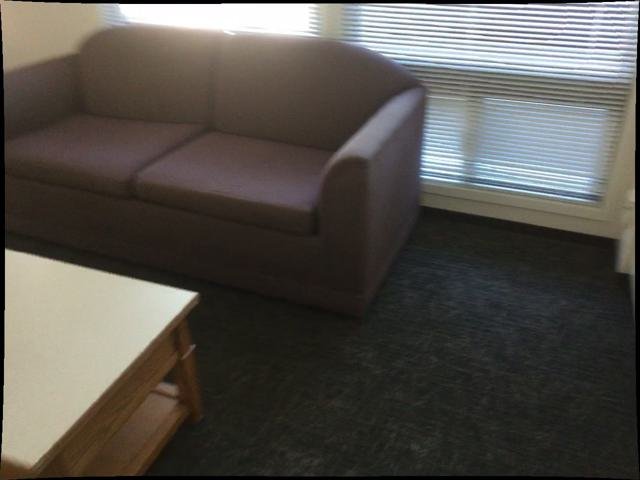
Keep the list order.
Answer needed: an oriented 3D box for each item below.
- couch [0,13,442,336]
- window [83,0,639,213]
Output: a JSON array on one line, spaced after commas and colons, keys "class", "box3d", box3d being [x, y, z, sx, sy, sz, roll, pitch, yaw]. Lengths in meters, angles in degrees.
[{"class": "couch", "box3d": [-0.499, -0.391, 2.400, 1.768, 0.791, 0.920, 11, 33, 17]}, {"class": "window", "box3d": [0.100, -1.232, 2.200, 2.387, 1.992, 0.280, 11, 33, 17]}]
